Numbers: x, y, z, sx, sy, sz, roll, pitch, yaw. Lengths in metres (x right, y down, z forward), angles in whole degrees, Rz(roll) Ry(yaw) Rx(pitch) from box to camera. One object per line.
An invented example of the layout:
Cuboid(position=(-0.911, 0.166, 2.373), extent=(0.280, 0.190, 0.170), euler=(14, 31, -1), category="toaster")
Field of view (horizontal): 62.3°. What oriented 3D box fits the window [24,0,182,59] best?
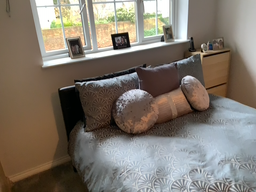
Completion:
Cuboid(position=(-0.150, -0.940, 2.290), extent=(1.740, 0.830, 0.110), euler=(-13, 24, -23), category="window")
